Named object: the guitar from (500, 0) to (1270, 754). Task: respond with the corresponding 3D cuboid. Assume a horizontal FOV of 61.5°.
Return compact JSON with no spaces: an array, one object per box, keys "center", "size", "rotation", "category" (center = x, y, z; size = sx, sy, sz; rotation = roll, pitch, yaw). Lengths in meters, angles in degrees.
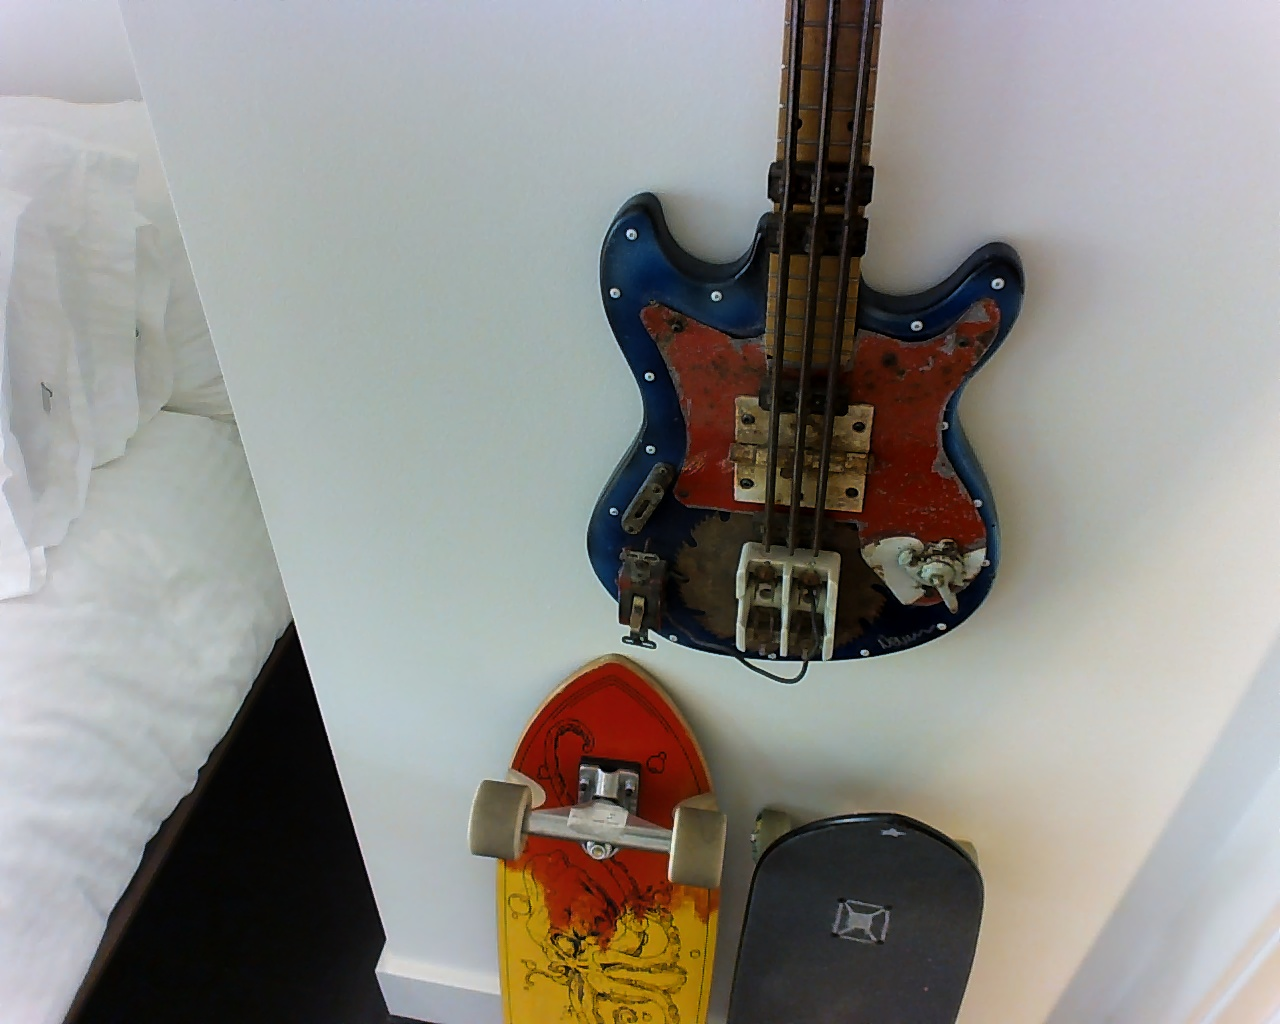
[{"center":[0.110,-0.230,0.560],"size":[0.350,0.980,0.080],"rotation":[8,42,7],"category":"guitar"}]
